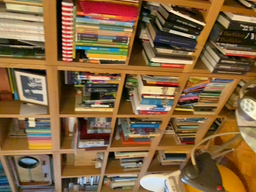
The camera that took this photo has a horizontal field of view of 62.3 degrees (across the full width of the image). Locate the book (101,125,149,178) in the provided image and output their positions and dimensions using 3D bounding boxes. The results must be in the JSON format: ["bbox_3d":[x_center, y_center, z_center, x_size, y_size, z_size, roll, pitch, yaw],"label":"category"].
[{"bbox_3d":[-0.050,0.530,2.060,0.320,0.360,0.370,-107,23,-50],"label":"book"}]

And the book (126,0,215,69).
[{"bbox_3d":[0.220,-0.430,1.250,0.260,0.350,0.450,-107,23,-50],"label":"book"}]

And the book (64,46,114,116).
[{"bbox_3d":[-0.280,-0.100,1.450,0.320,0.280,0.350,-107,23,-50],"label":"book"}]

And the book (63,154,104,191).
[{"bbox_3d":[-0.460,0.810,2.180,0.220,0.380,0.350,-107,23,-50],"label":"book"}]

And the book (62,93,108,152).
[{"bbox_3d":[-0.340,0.200,1.640,0.300,0.300,0.330,-107,23,-50],"label":"book"}]

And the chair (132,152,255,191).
[{"bbox_3d":[0.560,0.920,1.870,0.540,0.880,0.580,-106,22,-49],"label":"chair"}]
